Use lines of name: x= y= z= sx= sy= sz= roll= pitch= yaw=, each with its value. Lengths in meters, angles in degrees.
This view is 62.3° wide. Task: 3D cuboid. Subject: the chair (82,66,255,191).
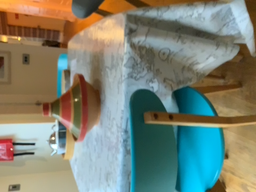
chair: x=0.280 y=0.180 z=0.870 sx=0.520 sy=0.800 sz=0.500 roll=-152 pitch=66 yaw=-64

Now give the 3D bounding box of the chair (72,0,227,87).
chair: x=0.110 y=-0.330 z=1.280 sx=0.440 sy=0.790 sz=0.510 roll=-170 pitch=82 yaw=-66
